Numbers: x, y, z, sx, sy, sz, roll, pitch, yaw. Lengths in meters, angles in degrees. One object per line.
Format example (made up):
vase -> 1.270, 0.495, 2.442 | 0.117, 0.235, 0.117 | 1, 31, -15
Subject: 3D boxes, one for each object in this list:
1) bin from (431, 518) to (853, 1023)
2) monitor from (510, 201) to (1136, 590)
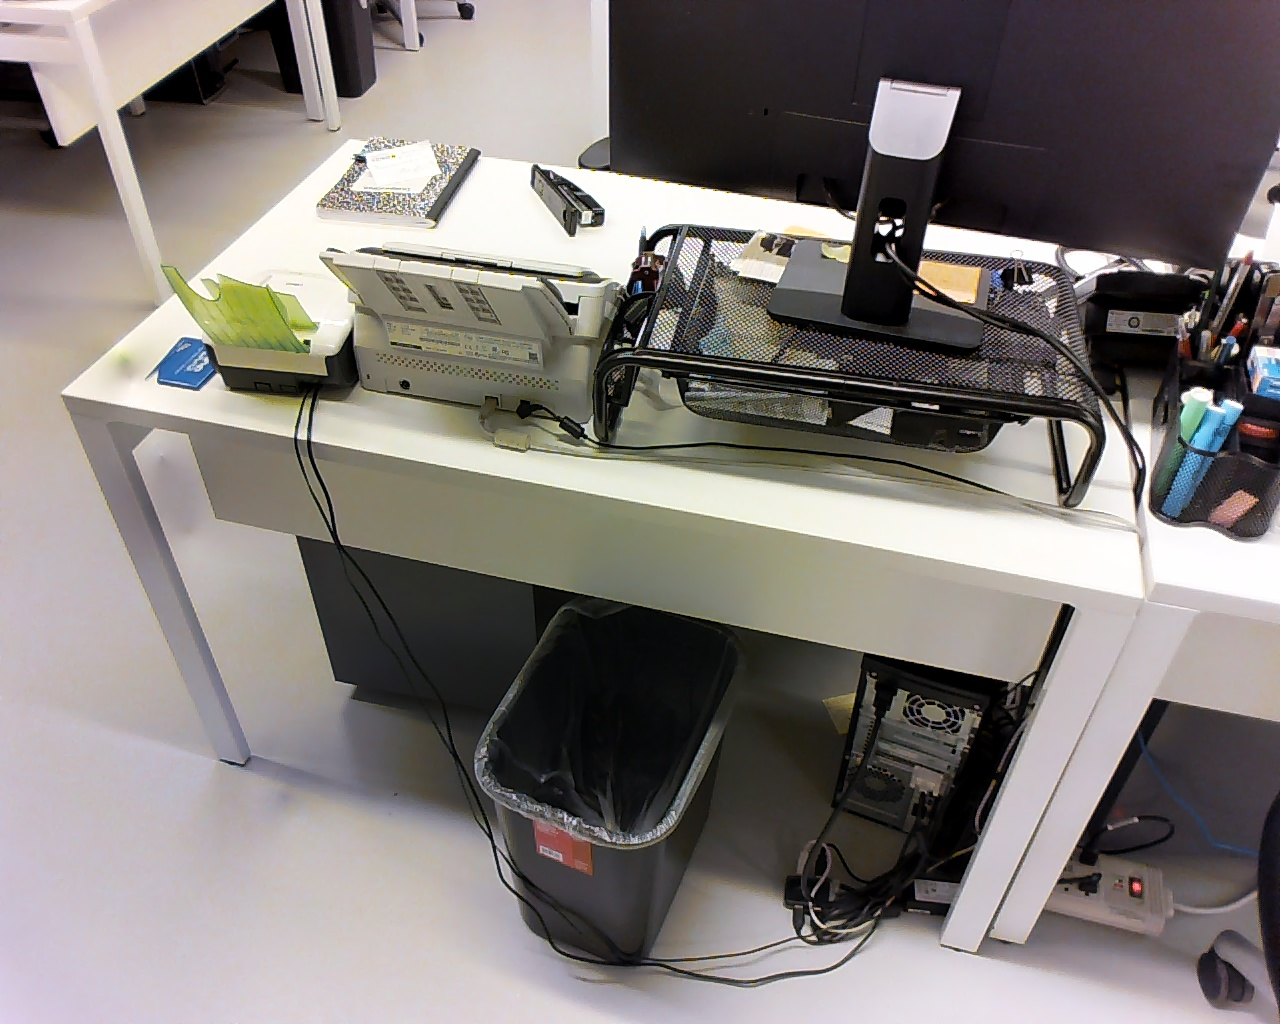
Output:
bin -> 0.030, 0.370, 1.480 | 0.390, 0.420, 0.520 | 12, 43, 13
monitor -> 0.200, -0.150, 1.160 | 0.580, 0.160, 0.340 | 12, 43, 13
